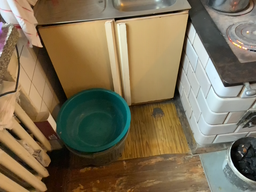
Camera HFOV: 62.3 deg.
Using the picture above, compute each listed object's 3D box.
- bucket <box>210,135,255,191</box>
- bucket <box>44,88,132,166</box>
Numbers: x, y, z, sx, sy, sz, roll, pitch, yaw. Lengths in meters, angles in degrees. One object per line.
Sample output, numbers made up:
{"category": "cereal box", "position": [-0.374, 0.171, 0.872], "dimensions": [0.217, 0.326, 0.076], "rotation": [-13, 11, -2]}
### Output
{"category": "bucket", "position": [0.720, 0.420, 1.330], "dimensions": [0.280, 0.190, 0.240], "rotation": [-10, 52, -4]}
{"category": "bucket", "position": [-0.240, 0.220, 1.460], "dimensions": [0.490, 0.360, 0.350], "rotation": [-6, 51, 0]}
